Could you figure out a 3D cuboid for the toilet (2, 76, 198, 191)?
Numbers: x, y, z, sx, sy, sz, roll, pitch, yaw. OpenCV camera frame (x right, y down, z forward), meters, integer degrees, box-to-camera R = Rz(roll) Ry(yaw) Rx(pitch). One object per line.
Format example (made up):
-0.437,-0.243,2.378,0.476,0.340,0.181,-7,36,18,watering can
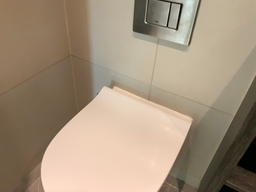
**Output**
-0.050,0.280,0.790,0.380,0.430,0.500,22,42,20,toilet
